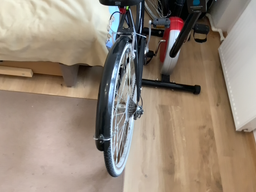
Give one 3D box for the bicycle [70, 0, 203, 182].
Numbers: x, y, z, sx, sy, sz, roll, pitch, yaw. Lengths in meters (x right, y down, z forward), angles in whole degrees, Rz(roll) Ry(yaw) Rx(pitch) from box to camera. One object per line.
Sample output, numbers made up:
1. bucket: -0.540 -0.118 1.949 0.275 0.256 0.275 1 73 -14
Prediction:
1. bicycle: 0.080 -0.410 1.350 0.390 0.730 1.660 8 60 -2
